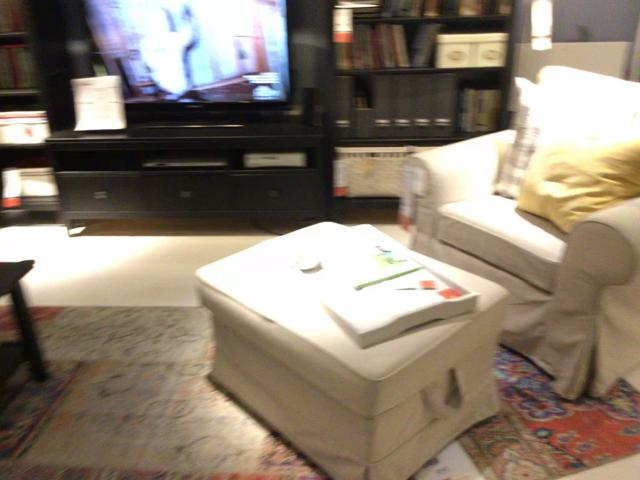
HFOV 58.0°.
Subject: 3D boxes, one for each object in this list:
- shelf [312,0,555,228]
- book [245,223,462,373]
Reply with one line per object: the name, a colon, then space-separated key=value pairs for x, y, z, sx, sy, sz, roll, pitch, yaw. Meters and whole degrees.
shelf: x=0.550 y=-0.880 z=2.900 sx=1.060 sy=1.570 sz=0.470 roll=0 pitch=23 yaw=11
book: x=0.070 y=0.130 z=1.690 sx=0.370 sy=0.120 sz=0.590 roll=-16 pitch=25 yaw=-25
